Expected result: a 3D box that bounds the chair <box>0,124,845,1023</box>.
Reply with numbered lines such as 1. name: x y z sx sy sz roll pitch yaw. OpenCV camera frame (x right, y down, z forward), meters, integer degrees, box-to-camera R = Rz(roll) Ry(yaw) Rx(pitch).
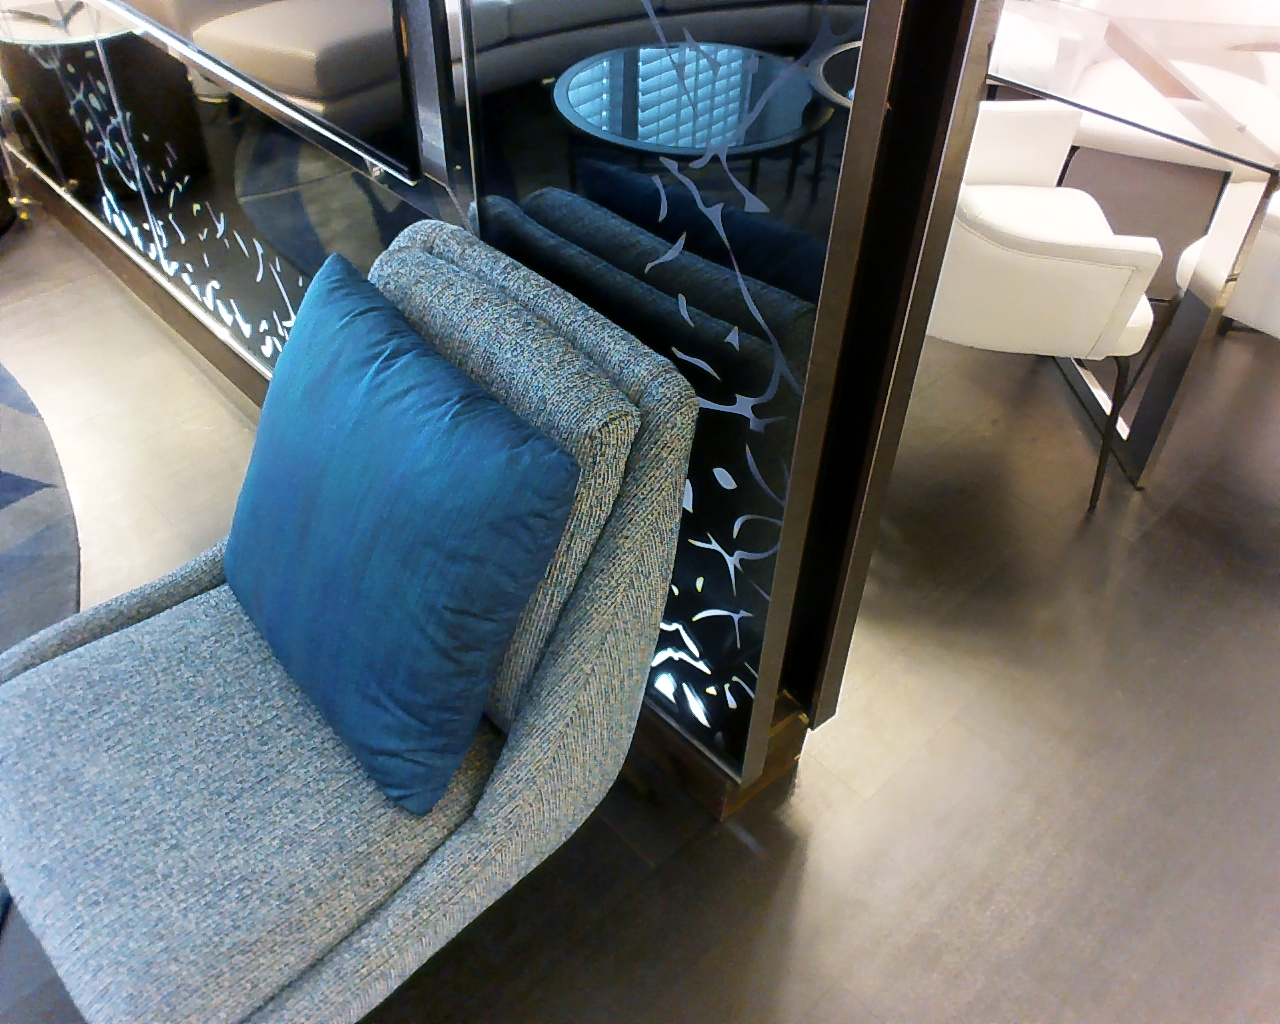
1. chair: -0.390 0.180 1.400 0.920 0.900 0.760 -32 52 -31
